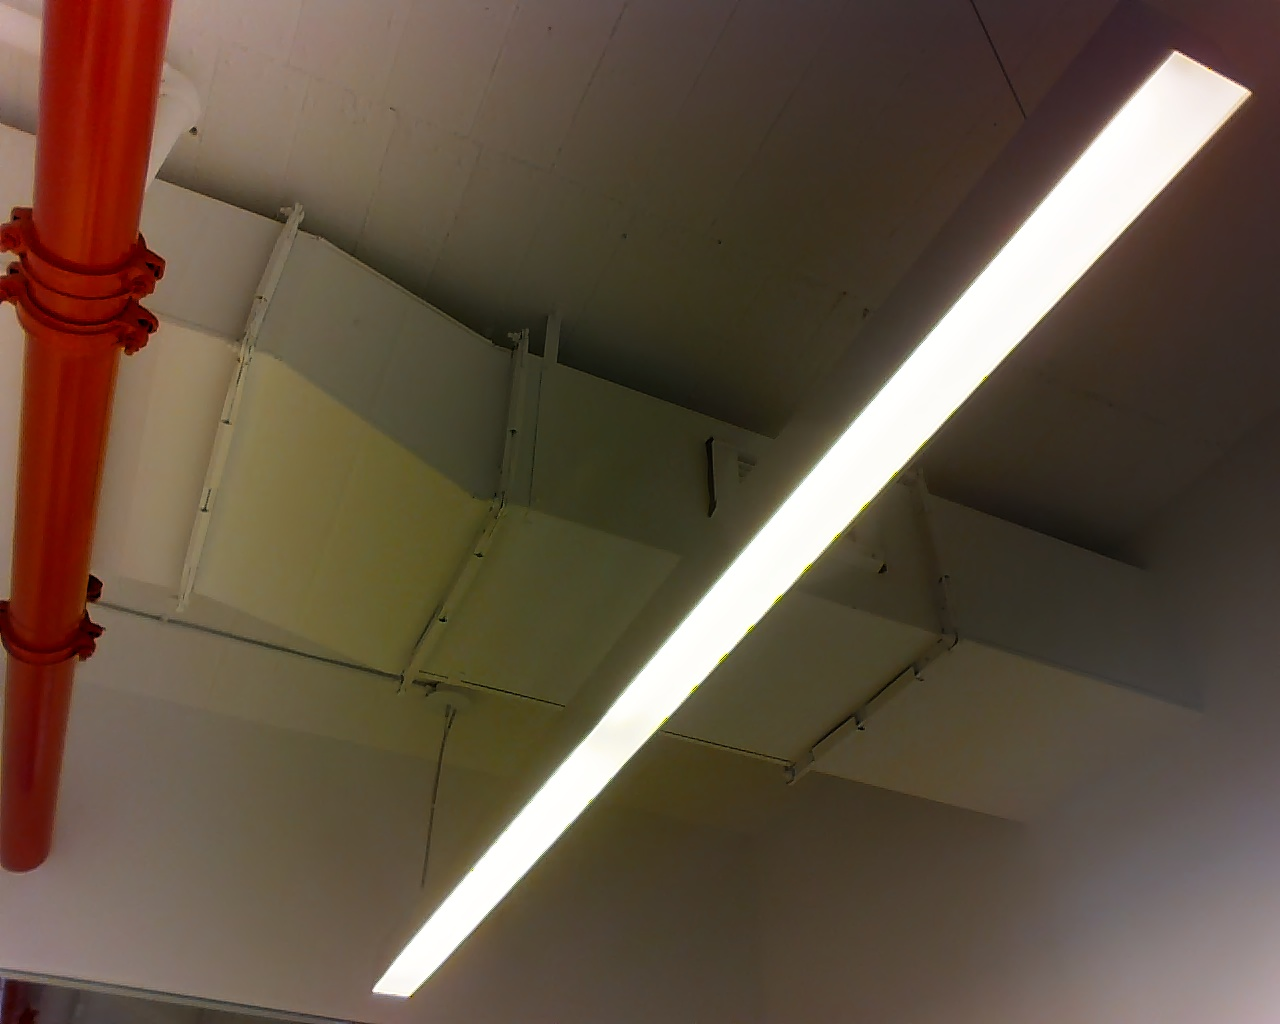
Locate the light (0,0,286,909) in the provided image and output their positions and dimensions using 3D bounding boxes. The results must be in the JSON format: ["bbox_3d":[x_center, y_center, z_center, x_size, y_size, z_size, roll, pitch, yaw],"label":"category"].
[{"bbox_3d":[-0.939,0.050,1.750,0.270,2.480,0.270,18,45,-18],"label":"light"}]

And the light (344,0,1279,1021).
[{"bbox_3d":[-0.040,0.330,1.730,0.240,2.510,0.220,18,45,-18],"label":"light"}]
